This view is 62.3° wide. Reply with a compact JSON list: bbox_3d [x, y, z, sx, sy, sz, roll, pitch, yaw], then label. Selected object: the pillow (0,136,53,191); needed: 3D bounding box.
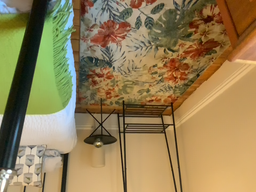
[{"bbox_3d":[-1.010,0.660,2.040,0.480,0.400,0.190,-11,158,-23],"label":"pillow"}]
